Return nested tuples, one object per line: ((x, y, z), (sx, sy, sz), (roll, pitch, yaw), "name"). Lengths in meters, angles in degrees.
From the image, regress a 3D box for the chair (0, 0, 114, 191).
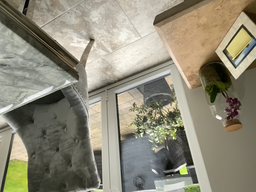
((-0.530, -0.020, 1.230), (0.580, 1.040, 0.660), (-20, 146, 21), "chair")

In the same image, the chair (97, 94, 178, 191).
((0.110, 0.690, 2.500), (0.680, 1.070, 0.730), (-15, 147, 13), "chair")
